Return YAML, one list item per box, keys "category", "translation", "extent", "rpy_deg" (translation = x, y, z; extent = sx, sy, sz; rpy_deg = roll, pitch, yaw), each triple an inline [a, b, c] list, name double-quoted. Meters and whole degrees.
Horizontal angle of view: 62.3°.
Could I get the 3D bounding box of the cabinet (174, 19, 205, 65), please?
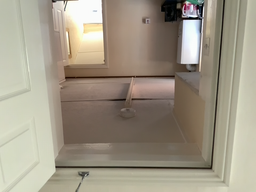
- category: "cabinet"
  translation: [1.080, -0.960, 3.820]
  extent: [0.410, 0.750, 0.540]
  rpy_deg: [1, -166, 5]
